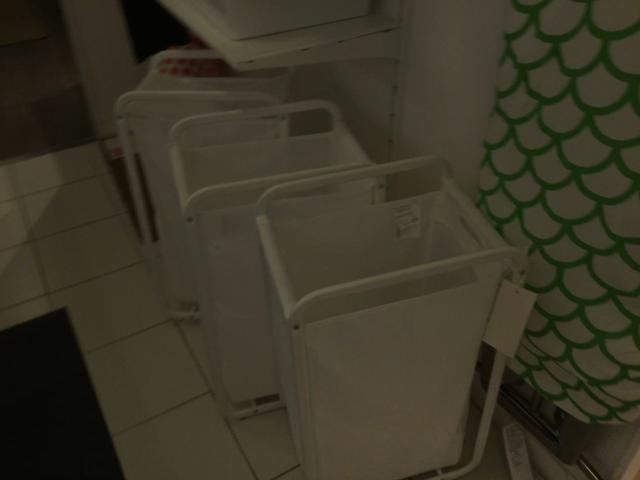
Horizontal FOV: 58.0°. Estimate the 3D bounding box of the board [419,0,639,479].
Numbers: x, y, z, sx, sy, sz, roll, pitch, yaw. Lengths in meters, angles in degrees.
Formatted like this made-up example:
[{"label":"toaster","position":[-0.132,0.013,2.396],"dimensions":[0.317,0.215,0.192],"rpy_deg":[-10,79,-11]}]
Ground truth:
[{"label":"board","position":[0.400,-0.120,0.820],"dimensions":[0.140,1.400,0.440],"rpy_deg":[-21,44,-22]}]
